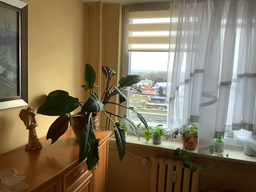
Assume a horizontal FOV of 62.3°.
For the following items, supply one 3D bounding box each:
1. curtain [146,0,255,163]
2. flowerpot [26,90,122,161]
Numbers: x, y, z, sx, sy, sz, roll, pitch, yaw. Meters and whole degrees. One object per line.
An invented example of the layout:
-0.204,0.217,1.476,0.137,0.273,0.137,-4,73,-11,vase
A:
0.910,-0.300,1.880,1.370,1.650,0.330,5,8,16,curtain
-0.370,0.170,1.730,0.390,0.350,0.790,5,8,17,flowerpot
